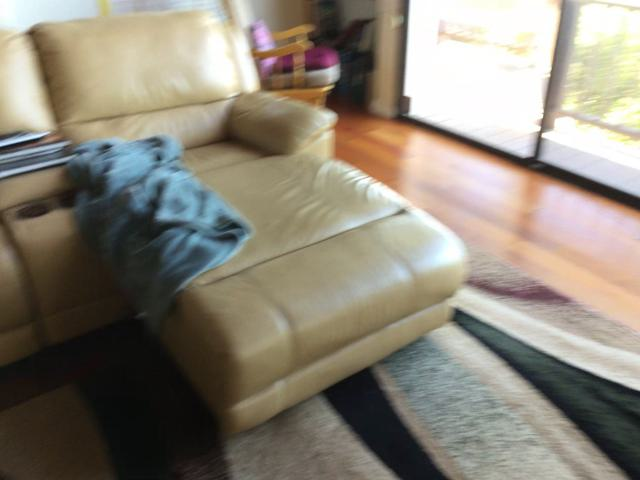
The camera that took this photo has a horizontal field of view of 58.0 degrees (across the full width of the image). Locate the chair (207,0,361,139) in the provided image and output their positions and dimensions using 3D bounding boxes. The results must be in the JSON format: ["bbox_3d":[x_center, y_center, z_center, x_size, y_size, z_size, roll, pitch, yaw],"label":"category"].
[{"bbox_3d":[-0.220,-1.270,3.780,0.890,0.990,0.640,3,30,0],"label":"chair"}]
